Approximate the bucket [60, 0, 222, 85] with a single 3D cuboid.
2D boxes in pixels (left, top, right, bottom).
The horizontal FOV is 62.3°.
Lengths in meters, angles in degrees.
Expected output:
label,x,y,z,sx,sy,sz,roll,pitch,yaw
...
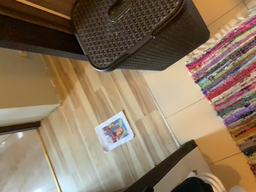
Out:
label,x,y,z,sx,sy,sz,roll,pitch,yaw
bucket,0.110,-0.300,1.010,0.490,0.610,0.270,-35,75,26
